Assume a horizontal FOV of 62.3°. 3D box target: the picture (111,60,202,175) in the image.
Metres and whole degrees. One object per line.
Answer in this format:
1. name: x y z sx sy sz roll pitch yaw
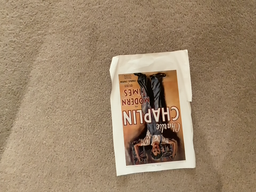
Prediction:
1. picture: 0.070 0.050 0.530 0.220 0.010 0.280 -1 87 -4
